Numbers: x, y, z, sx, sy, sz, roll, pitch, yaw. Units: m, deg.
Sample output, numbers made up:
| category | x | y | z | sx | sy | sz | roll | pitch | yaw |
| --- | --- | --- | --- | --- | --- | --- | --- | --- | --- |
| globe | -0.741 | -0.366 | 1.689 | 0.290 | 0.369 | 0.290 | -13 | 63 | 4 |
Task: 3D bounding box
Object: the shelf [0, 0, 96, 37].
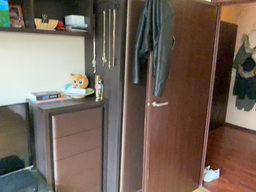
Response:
| category | x | y | z | sx | sy | sz | roll | pitch | yaw |
| --- | --- | --- | --- | --- | --- | --- | --- | --- | --- |
| shelf | -0.920 | -0.620 | 1.390 | 1.540 | 0.350 | 0.230 | -9 | 17 | -41 |
